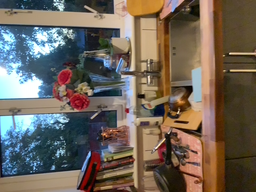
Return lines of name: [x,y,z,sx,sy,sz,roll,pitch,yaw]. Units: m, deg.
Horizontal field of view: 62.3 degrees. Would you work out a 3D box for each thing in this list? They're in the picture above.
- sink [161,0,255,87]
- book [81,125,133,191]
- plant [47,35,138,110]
sink: [0.390,-0.270,1.130,0.420,0.270,0.430,-177,85,-77]
book: [-0.150,0.440,1.420,0.230,0.310,0.430,-170,78,-77]
plant: [-0.230,-0.140,1.400,0.310,0.520,0.420,180,88,-77]
